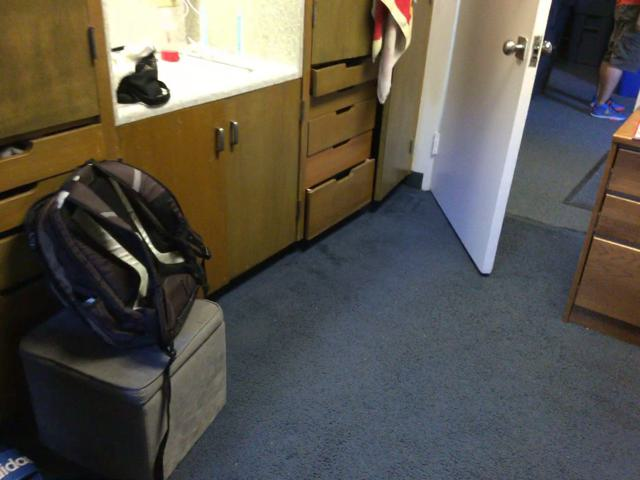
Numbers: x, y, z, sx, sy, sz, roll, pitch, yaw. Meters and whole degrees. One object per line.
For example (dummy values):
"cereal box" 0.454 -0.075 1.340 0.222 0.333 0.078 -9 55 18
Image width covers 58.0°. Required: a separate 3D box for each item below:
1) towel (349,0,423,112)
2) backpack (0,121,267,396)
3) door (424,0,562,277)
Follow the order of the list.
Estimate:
"towel" 0.280 -1.150 2.230 0.170 1.240 0.280 19 34 30
"backpack" -0.500 0.000 1.510 0.500 0.420 0.500 19 34 30
"door" 0.710 -1.030 2.350 0.140 2.200 0.930 -2 29 -4
